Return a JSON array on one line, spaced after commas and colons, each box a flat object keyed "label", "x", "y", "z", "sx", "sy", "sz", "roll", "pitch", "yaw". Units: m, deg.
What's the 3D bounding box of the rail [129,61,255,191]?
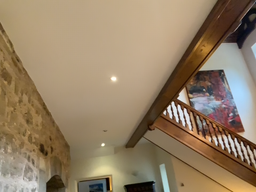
[{"label": "rail", "x": 2.000, "y": 1.220, "z": 4.960, "sx": 3.410, "sy": 4.430, "sz": 0.140, "roll": -5, "pitch": -23, "yaw": -7}]
